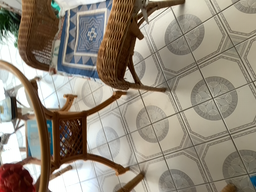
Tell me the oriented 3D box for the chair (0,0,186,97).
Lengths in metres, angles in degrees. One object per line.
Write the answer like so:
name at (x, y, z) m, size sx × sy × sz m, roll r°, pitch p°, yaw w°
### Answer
chair at (-0.200, -0.400, 0.960) m, size 0.720 × 0.550 × 0.680 m, roll 13°, pitch 96°, yaw 34°

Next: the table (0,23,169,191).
table at (-0.430, 0.260, 1.260) m, size 0.850 × 0.800 × 0.790 m, roll -28°, pitch 74°, yaw 31°
